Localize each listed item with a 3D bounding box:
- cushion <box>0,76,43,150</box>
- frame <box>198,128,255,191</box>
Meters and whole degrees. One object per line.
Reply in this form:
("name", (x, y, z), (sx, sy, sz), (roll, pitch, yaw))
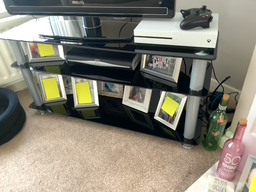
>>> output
("cushion", (-0.790, 0.120, 1.180), (0.440, 0.170, 0.400), (-31, 44, -31))
("frame", (0.420, 0.290, 0.790), (0.140, 0.180, 0.260), (-21, 40, -21))
